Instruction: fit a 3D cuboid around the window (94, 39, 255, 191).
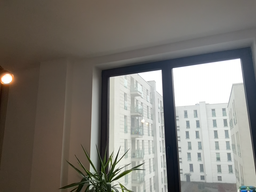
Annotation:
[{"bbox_3d":[0.450,0.300,2.330,1.760,1.560,0.180,-5,-13,23],"label":"window"}]
